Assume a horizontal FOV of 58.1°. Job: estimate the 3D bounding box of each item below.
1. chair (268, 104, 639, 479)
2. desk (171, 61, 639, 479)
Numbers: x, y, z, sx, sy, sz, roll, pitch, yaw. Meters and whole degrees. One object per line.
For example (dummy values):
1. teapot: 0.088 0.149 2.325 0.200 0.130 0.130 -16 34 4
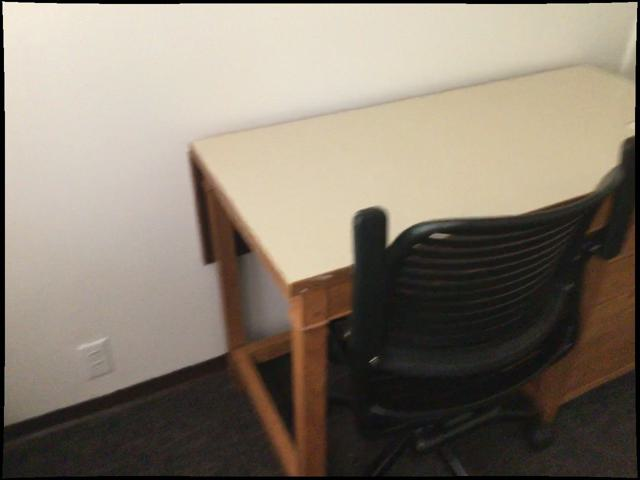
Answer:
1. chair: 0.299 0.261 1.160 0.699 0.902 0.250 -15 37 -19
2. desk: 0.359 0.090 1.520 1.248 0.771 0.620 -15 37 -19
